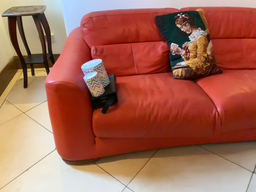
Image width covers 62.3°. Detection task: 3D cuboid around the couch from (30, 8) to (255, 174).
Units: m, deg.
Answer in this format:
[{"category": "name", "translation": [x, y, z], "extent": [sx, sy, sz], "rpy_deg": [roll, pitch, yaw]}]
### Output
[{"category": "couch", "translation": [0.550, -0.200, 1.810], "extent": [2.190, 1.210, 0.760], "rpy_deg": [-4, -55, -6]}]

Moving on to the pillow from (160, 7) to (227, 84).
[{"category": "pillow", "translation": [0.510, -0.410, 1.700], "extent": [0.370, 0.560, 0.150], "rpy_deg": [-8, -12, -12]}]
